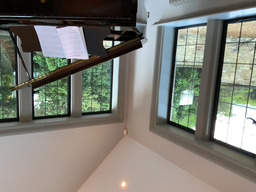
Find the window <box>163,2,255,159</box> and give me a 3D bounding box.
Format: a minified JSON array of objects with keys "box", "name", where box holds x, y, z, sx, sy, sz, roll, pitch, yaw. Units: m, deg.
[{"box":[1.320,-0.160,2.260,0.120,1.580,2.430,-3,-168,-33],"name":"window"}]
